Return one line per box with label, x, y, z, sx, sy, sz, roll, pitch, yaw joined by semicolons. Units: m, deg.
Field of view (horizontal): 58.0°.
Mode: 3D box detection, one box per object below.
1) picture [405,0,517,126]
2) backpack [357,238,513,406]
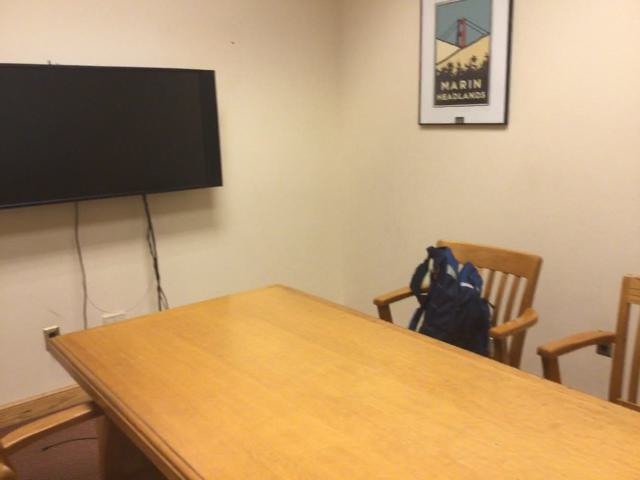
picture;0.670;-0.950;2.860;0.030;0.750;0.650;-11;16;-36
backpack;0.430;0.280;2.200;0.420;0.460;0.390;-11;16;-36
